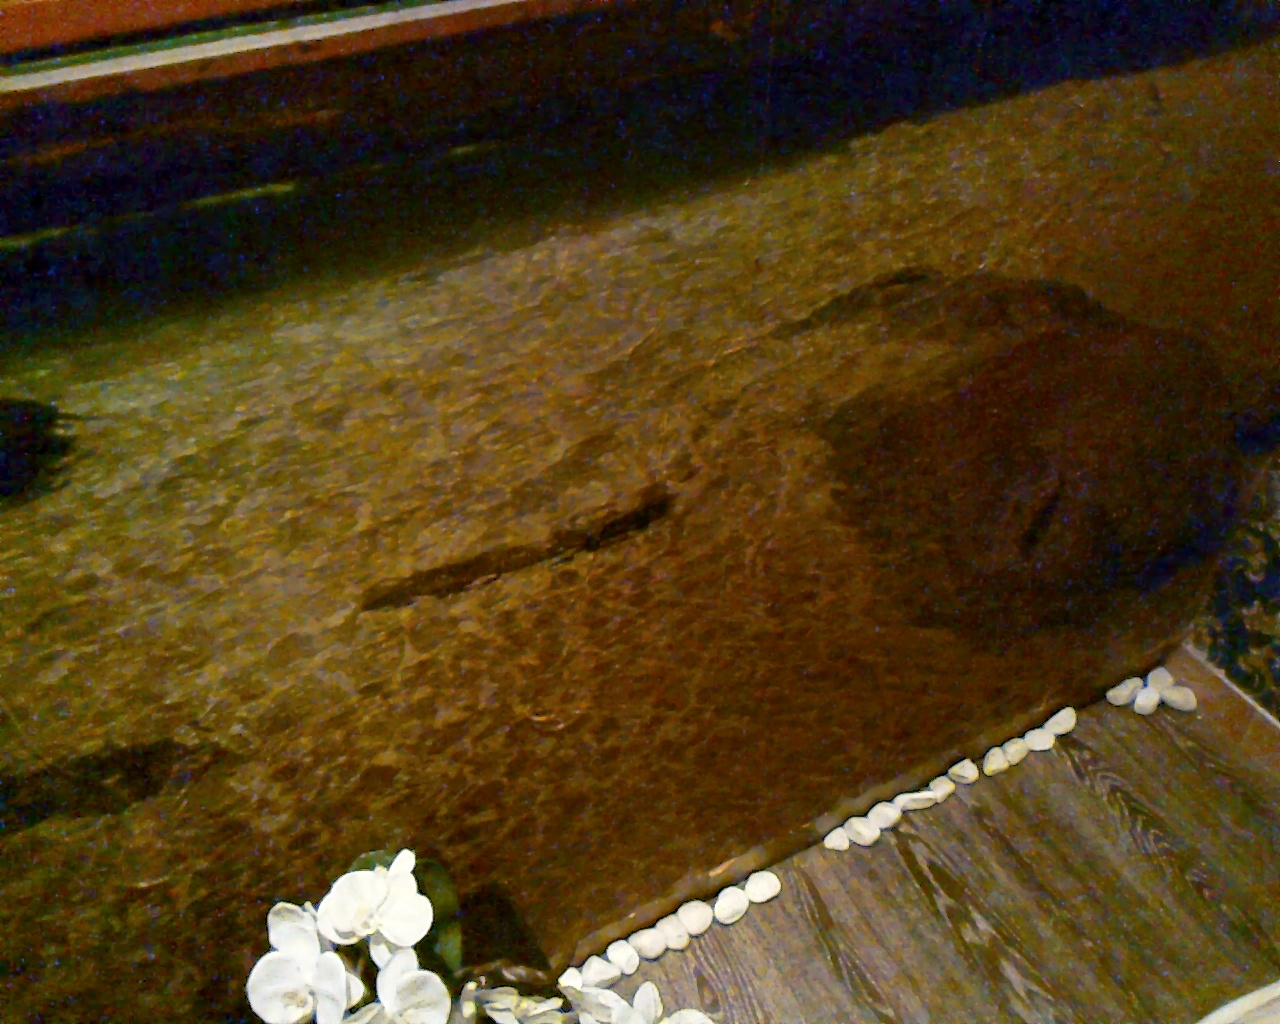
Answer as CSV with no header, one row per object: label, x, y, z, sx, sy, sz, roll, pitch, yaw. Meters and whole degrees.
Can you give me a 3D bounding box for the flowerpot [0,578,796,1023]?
flowerpot,-0.230,0.480,1.020,0.510,0.470,0.530,-20,45,-21
